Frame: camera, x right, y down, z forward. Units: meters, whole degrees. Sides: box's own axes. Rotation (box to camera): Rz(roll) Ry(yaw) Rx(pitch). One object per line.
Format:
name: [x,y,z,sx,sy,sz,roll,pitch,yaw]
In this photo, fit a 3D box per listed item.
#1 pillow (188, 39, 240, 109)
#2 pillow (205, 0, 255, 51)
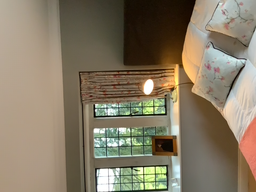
pillow: [0.740,-0.190,1.920,0.320,0.200,0.550,-95,5,-47]
pillow: [0.760,-0.650,1.540,0.310,0.160,0.540,-95,5,-47]
